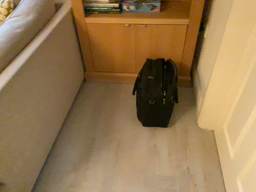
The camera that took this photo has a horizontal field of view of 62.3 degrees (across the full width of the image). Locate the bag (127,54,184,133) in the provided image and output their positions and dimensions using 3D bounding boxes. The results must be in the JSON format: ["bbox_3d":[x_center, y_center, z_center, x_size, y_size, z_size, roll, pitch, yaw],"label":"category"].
[{"bbox_3d":[0.190,-0.030,1.490,0.330,0.310,0.450,4,44,6],"label":"bag"}]
